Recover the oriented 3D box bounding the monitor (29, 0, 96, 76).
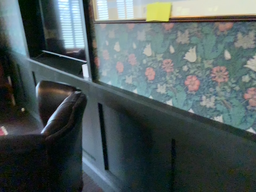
[{"bbox_3d":[-0.710,-0.720,2.060,0.050,0.820,1.320,-18,26,-34],"label":"monitor"}]
